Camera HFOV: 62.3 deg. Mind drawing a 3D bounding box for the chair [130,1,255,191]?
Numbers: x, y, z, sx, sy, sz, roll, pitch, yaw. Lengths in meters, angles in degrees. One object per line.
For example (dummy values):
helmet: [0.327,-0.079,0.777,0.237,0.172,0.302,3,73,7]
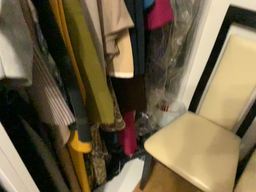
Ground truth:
chair: [0.390,0.170,1.120,0.460,1.050,0.570,26,47,22]
